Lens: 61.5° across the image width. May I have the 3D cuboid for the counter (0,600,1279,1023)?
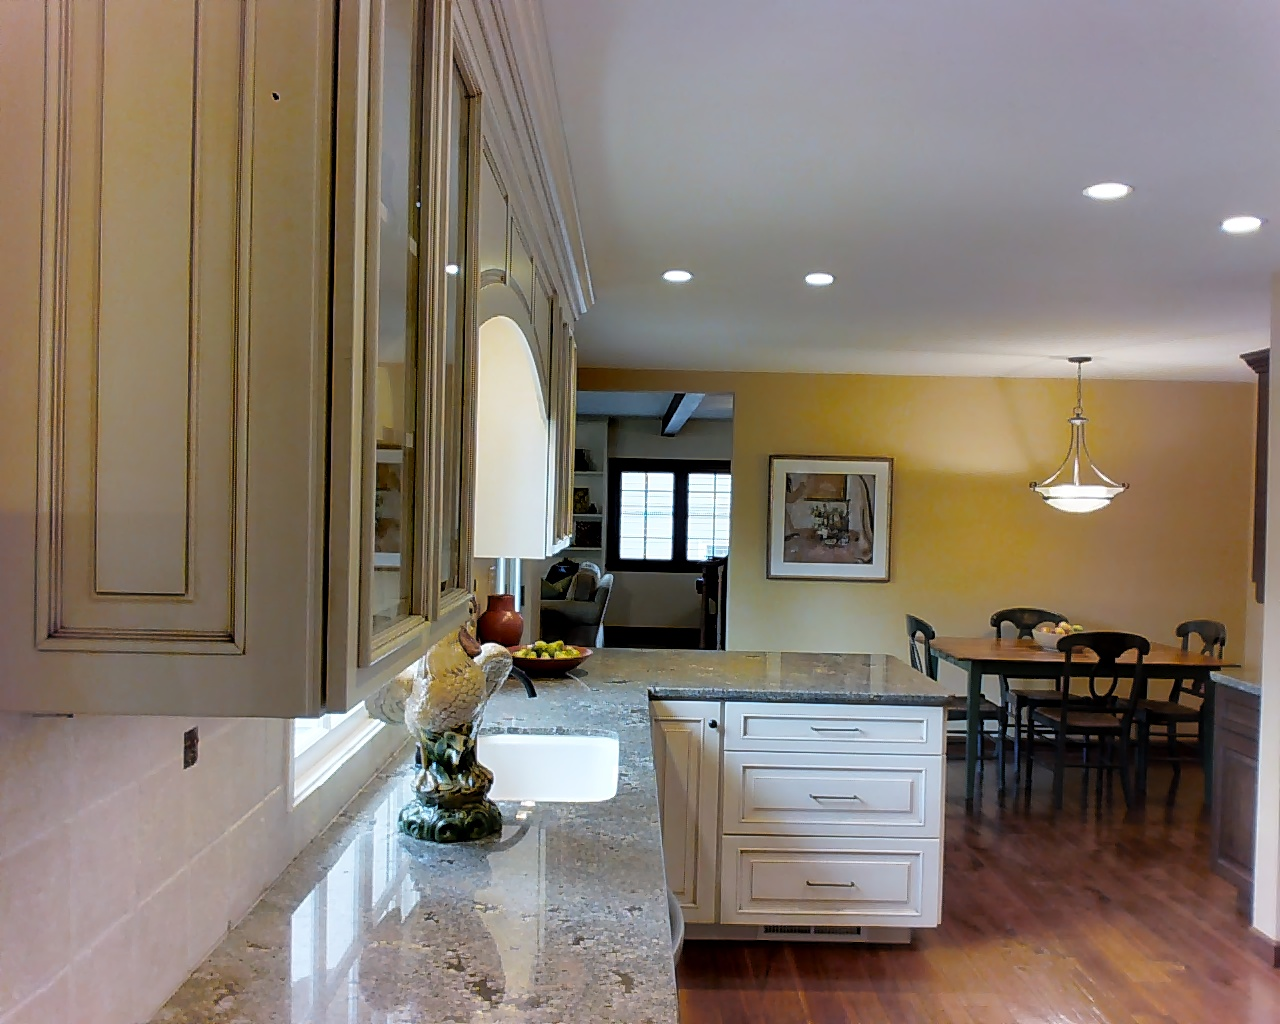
[{"bbox_3d":[0.300,0.660,2.780,1.810,0.490,3.730,1,1,-2],"label":"counter"}]
